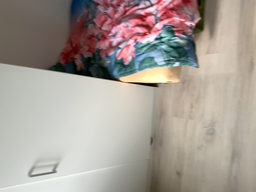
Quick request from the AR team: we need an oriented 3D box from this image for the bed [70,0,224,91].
[{"bbox_3d":[0.120,-0.910,1.610,1.030,0.510,1.670,4,89,47],"label":"bed"}]
